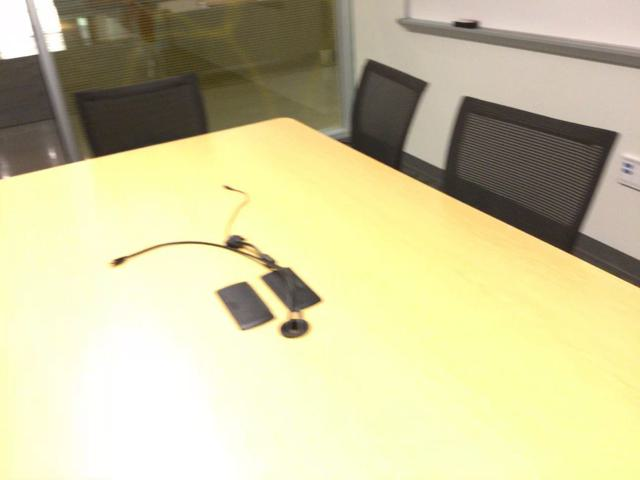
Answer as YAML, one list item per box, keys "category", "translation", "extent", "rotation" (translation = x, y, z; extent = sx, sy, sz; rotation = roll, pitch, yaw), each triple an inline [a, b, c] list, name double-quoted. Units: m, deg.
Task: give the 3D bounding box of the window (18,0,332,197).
- category: "window"
  translation: [-0.820, -1.360, 3.490]
  extent: [1.740, 1.840, 0.180]
  rotation: [-18, 30, -21]
